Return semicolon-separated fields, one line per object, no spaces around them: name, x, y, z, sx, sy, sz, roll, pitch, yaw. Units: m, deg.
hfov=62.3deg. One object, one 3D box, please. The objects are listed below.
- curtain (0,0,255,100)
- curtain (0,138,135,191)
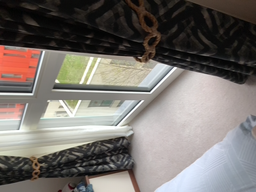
curtain;-0.280;-0.240;0.600;0.390;2.490;0.300;-56;46;38
curtain;-0.990;0.660;1.730;0.320;2.300;0.290;-58;45;36
